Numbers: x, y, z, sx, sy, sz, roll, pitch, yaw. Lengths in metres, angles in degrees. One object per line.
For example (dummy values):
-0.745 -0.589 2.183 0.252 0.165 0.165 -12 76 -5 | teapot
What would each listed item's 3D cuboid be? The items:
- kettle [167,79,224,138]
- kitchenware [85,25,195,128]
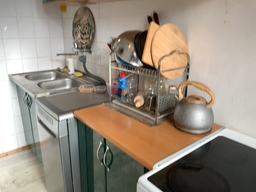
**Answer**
0.330 0.050 1.050 0.200 0.220 0.160 -13 23 -37 | kettle
0.020 -0.180 1.310 0.260 0.480 0.670 -13 23 -38 | kitchenware
